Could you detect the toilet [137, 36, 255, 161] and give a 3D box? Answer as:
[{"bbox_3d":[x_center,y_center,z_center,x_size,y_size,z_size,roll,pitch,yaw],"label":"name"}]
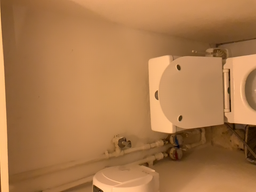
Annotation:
[{"bbox_3d":[0.590,-0.010,1.100,0.680,0.840,0.390,3,94,52],"label":"toilet"}]
